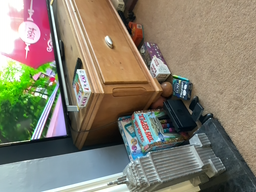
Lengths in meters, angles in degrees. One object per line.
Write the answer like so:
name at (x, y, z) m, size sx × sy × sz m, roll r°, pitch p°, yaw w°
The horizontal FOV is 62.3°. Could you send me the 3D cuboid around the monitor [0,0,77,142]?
monitor at (-0.790, -0.310, 1.320) m, size 0.080 × 0.740 × 1.200 m, roll -49°, pitch 51°, yaw 51°
